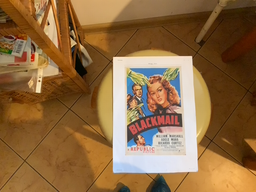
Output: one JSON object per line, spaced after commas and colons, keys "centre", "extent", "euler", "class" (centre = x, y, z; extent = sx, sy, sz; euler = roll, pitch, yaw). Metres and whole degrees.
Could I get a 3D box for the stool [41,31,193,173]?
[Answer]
{"centre": [-0.020, 0.040, 0.710], "extent": [0.330, 0.440, 0.310], "euler": [4, 81, 0], "class": "stool"}
